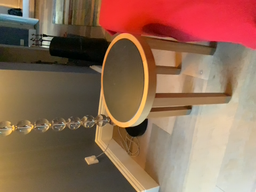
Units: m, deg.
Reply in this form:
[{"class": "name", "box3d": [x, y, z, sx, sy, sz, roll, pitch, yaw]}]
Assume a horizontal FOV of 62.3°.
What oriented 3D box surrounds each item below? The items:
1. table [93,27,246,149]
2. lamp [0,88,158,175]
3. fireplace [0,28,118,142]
[{"class": "table", "box3d": [0.170, -0.070, 1.040, 0.430, 0.510, 0.410, 32, 117, 53]}, {"class": "lamp", "box3d": [-0.640, 0.170, 1.180, 0.350, 1.730, 0.350, 31, 116, 53]}, {"class": "fireplace", "box3d": [-1.100, -0.290, 2.440, 1.780, 1.160, 0.810, 29, 114, 54]}]
